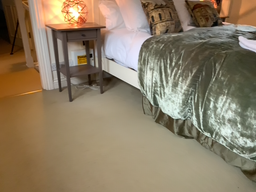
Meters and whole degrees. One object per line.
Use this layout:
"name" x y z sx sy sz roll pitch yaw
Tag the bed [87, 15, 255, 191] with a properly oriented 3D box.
"bed" 0.760 -0.360 2.210 1.620 0.670 2.110 -15 31 -29
